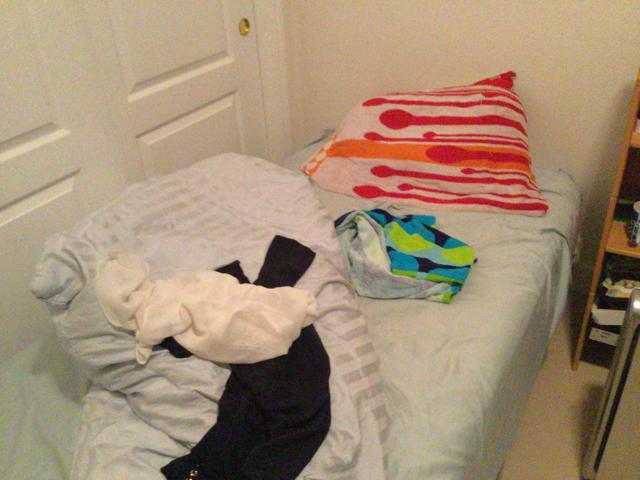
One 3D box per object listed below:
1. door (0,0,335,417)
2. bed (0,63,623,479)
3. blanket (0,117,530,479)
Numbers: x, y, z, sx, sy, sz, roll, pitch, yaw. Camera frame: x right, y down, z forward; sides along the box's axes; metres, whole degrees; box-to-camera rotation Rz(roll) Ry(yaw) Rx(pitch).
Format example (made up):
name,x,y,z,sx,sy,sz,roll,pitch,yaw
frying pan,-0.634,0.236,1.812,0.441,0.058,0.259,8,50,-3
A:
name,x,y,z,sx,sy,sz,roll,pitch,yaw
door,-0.570,-0.270,1.560,0.210,0.920,1.810,11,33,32
bed,-0.050,0.140,1.410,1.060,0.670,1.950,11,33,32
blanket,-0.130,0.110,1.140,0.760,0.360,1.040,11,33,32
